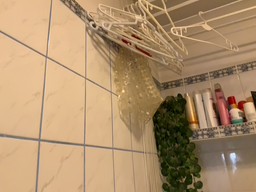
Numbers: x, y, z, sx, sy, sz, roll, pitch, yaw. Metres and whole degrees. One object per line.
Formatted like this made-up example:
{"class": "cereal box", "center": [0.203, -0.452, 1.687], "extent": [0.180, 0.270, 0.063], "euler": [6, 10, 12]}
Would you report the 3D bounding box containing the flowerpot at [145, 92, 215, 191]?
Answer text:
{"class": "flowerpot", "center": [0.270, 0.320, 1.070], "extent": [0.240, 0.590, 0.280], "euler": [-12, -21, 22]}
